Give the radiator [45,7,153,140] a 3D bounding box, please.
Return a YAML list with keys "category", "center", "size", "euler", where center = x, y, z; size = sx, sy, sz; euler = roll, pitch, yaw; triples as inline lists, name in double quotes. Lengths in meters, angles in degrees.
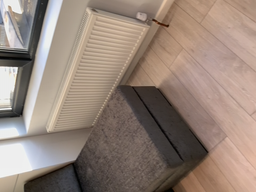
- category: "radiator"
  center: [-0.310, -0.090, 1.820]
  size: [0.170, 0.500, 1.220]
  euler: [56, 131, 32]
